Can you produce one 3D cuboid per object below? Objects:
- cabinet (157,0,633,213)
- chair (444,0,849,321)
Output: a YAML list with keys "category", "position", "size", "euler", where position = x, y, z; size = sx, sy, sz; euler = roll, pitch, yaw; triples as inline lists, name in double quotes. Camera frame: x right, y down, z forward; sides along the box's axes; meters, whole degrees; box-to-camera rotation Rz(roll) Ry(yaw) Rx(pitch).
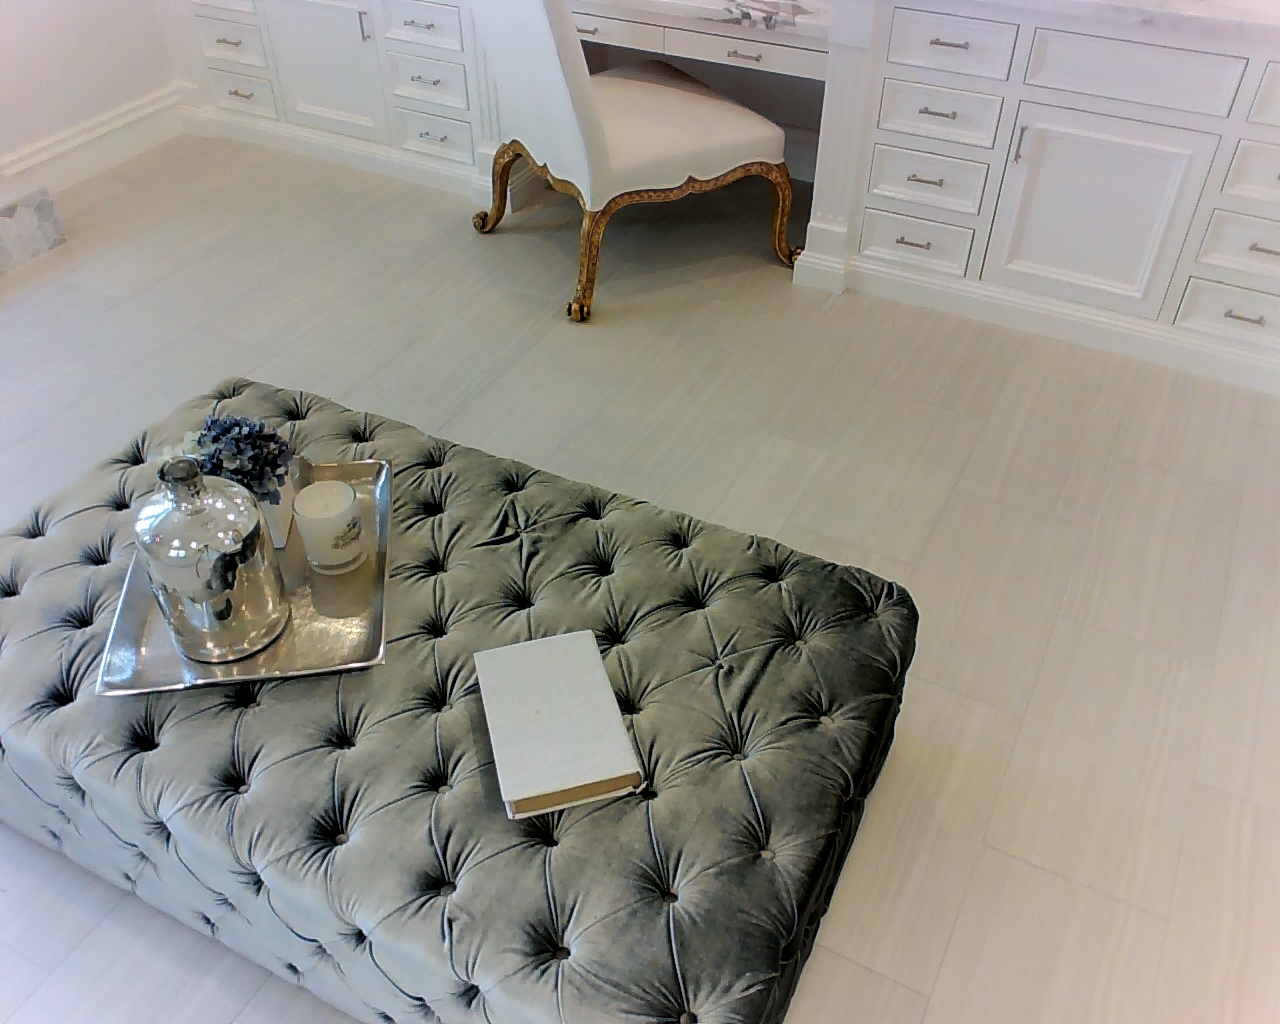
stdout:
- category: "cabinet"
  position: [-0.890, -1.810, 3.880]
  size: [1.550, 0.910, 0.740]
  euler: [19, 45, 21]
- category: "chair"
  position: [0.000, -1.280, 3.160]
  size: [0.890, 1.000, 0.740]
  euler: [-20, 45, -21]
